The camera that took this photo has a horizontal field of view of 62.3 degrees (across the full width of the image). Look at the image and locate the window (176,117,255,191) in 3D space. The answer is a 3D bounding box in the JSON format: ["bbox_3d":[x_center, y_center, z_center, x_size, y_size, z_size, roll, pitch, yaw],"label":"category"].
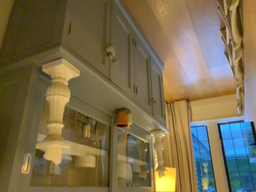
[{"bbox_3d":[1.740,1.240,3.370,1.780,1.770,0.060,-10,155,22],"label":"window"}]

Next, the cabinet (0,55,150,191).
[{"bbox_3d":[-0.290,0.740,1.510,0.370,1.330,1.630,-10,154,23],"label":"cabinet"}]
